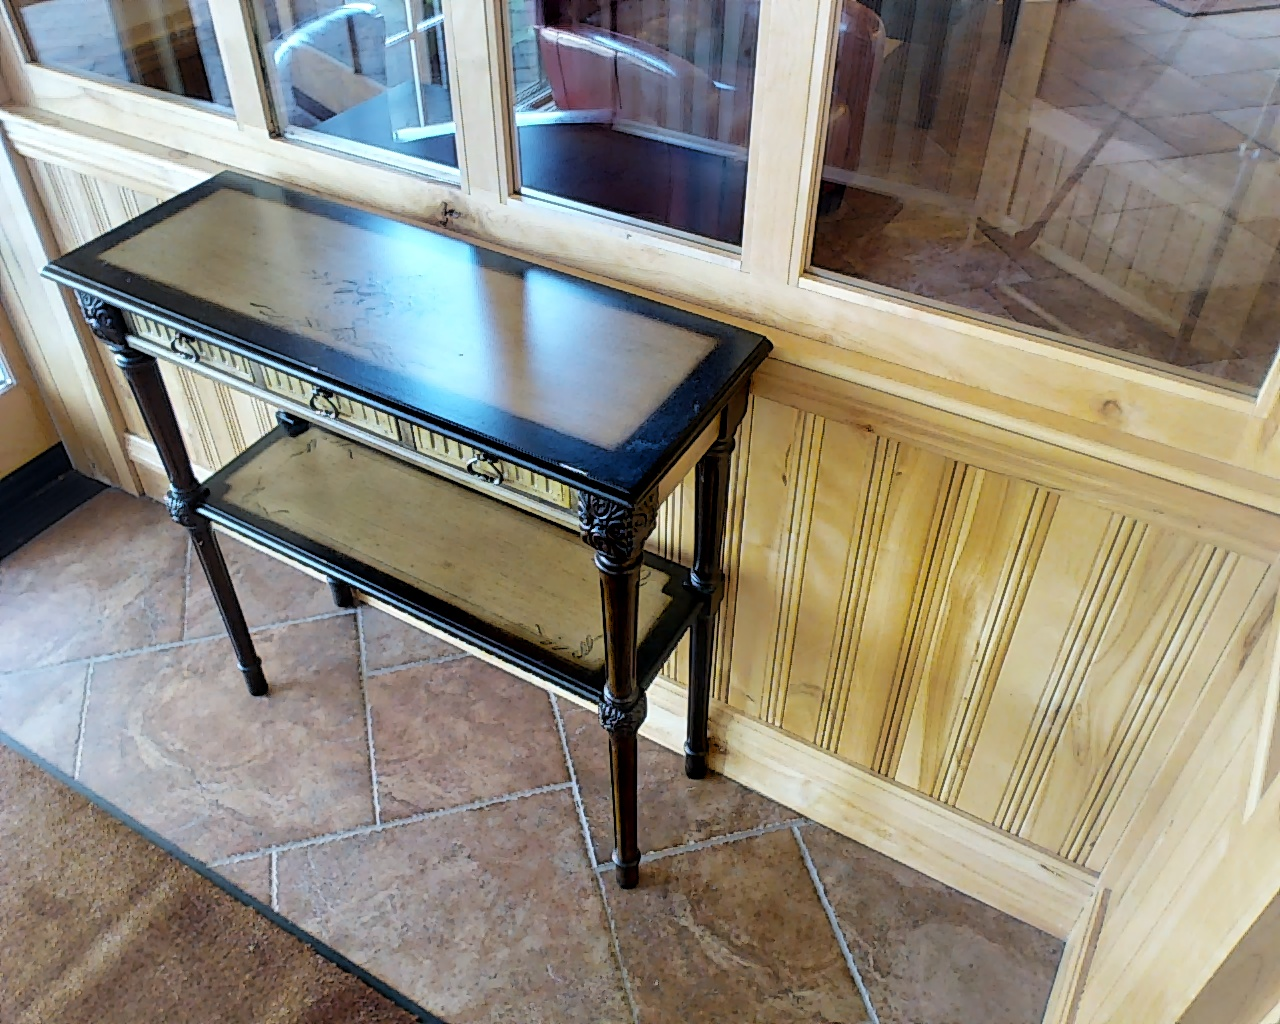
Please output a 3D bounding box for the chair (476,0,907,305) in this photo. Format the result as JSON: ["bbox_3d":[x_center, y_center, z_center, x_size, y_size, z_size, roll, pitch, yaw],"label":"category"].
[{"bbox_3d":[0.140,-1.360,3.310,0.810,0.900,0.980,-33,51,-32],"label":"chair"}]
